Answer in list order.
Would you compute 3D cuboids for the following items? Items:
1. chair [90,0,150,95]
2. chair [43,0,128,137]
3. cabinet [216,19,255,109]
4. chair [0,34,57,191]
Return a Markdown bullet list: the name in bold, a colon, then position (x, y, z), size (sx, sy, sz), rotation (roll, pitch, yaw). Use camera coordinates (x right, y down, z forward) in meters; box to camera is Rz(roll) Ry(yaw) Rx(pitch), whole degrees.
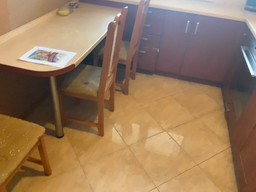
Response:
- **chair**: position (-0.090, -0.570, 2.250), size (0.460, 0.970, 0.420), rotation (14, 38, 10)
- **chair**: position (-0.300, -0.190, 1.710), size (0.440, 0.980, 0.400), rotation (12, 38, 7)
- **cabinet**: position (1.370, -0.280, 2.190), size (0.600, 0.850, 0.220), rotation (14, 38, 10)
- **chair**: position (-0.790, 0.190, 1.140), size (0.540, 0.990, 0.390), rotation (14, 38, 10)
